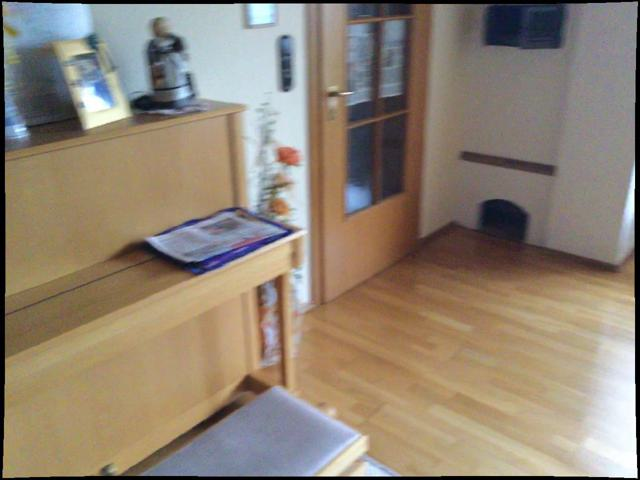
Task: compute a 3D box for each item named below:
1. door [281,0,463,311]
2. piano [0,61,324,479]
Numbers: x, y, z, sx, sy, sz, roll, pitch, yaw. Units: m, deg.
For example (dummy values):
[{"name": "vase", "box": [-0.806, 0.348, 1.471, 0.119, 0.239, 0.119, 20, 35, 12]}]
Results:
[{"name": "door", "box": [0.300, -0.731, 2.830, 0.170, 1.912, 1.130, 20, 32, 39]}, {"name": "piano", "box": [-0.729, 0.250, 1.600, 0.590, 1.241, 1.519, 20, 32, 39]}]
